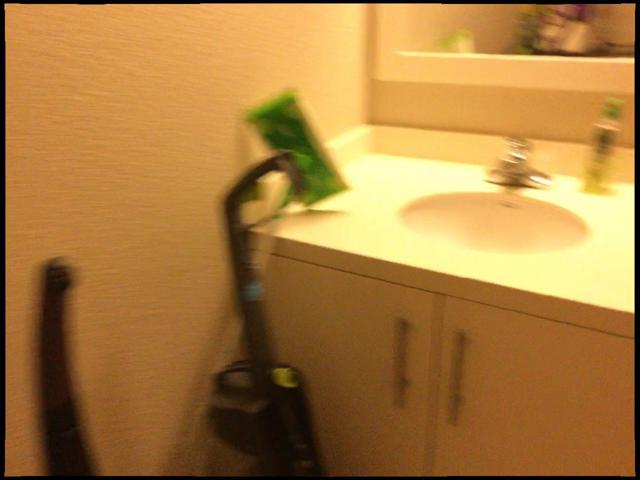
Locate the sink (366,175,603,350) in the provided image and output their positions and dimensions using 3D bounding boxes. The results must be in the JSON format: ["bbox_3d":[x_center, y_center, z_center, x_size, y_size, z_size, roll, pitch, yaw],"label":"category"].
[{"bbox_3d":[0.339,0.020,1.190,0.379,0.150,0.320,15,32,28],"label":"sink"}]

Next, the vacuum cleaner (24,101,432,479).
[{"bbox_3d":[-0.090,0.371,1.090,0.369,1.122,0.470,15,32,28],"label":"vacuum cleaner"}]
